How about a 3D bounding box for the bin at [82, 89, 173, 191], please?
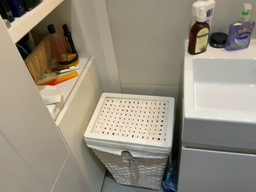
[{"bbox_3d":[0.040,0.280,1.150,0.360,0.550,0.300,4,44,13],"label":"bin"}]
